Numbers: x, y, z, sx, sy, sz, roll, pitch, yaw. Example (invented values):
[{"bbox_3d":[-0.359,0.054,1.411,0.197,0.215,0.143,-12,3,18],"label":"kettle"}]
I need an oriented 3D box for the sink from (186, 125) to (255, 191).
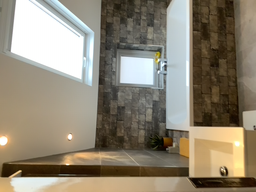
[{"bbox_3d":[0.540,0.430,1.290,0.620,0.110,0.490,142,131,-79],"label":"sink"}]
